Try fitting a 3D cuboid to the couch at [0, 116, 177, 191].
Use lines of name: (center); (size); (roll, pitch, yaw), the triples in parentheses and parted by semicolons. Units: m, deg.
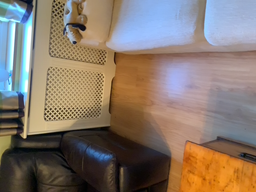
couch: (-0.400, 1.090, 1.690); (0.970, 0.940, 1.630); (12, 98, 45)
